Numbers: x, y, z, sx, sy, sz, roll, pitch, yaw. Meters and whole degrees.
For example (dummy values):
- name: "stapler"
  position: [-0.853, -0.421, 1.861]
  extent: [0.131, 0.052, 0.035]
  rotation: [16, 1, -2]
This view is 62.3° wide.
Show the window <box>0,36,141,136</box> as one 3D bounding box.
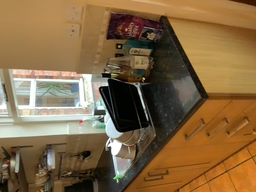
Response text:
- name: "window"
  position: [-0.880, -0.010, 1.740]
  extent: [0.970, 1.730, 0.250]
  rotation: [116, 148, -49]
